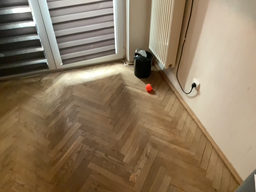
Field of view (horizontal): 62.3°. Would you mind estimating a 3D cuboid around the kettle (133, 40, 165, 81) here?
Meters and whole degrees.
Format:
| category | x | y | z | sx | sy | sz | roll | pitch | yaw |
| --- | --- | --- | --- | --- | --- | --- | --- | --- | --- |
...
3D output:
| category | x | y | z | sx | sy | sz | roll | pitch | yaw |
| --- | --- | --- | --- | --- | --- | --- | --- | --- | --- |
| kettle | 0.210 | -0.380 | 2.260 | 0.210 | 0.280 | 0.290 | -15 | 46 | -16 |
